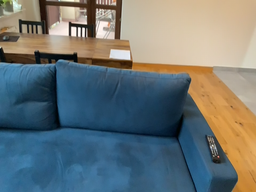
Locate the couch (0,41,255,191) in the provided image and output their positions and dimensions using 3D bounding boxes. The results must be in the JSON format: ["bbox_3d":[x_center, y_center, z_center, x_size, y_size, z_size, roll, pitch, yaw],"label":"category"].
[{"bbox_3d":[-0.540,0.250,1.480,2.170,0.930,1.000,4,29,-3],"label":"couch"}]
